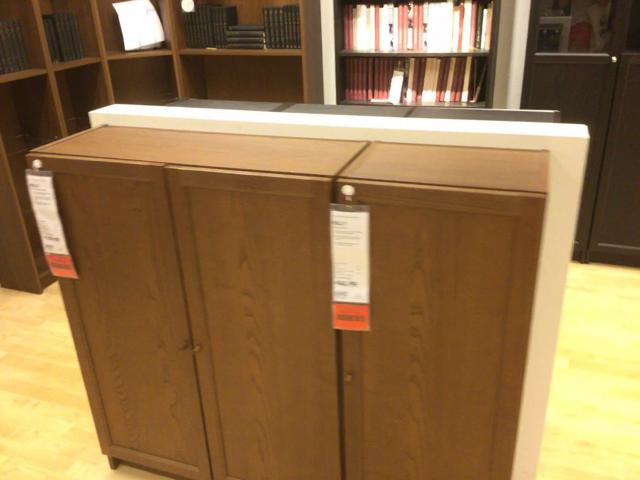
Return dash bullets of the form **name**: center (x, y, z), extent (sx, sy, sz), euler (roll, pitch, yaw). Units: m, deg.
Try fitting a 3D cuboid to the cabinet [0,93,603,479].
- **cabinet**: center (-0.050, 0.260, 1.540), extent (1.260, 1.080, 0.530), euler (8, 40, 19)
